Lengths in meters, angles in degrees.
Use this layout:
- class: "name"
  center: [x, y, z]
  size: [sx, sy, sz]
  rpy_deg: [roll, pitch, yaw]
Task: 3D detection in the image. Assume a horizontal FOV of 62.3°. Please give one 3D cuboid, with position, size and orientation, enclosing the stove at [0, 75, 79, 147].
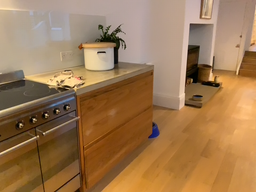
- class: "stove"
  center: [-0.850, 0.090, 1.200]
  size: [0.660, 0.170, 0.900]
  rpy_deg: [11, 22, 31]
